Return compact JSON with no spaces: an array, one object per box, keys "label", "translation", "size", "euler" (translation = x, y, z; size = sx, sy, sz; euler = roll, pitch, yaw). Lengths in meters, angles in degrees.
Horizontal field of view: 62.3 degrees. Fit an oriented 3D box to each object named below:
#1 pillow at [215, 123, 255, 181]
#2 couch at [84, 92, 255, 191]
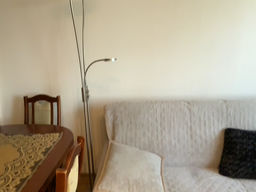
[{"label":"pillow","translation":[0.930,0.440,1.660],"size":[0.320,0.310,0.220],"euler":[19,17,4]},{"label":"couch","translation":[0.830,0.550,1.710],"size":[2.080,0.930,1.060],"euler":[0,15,1]}]
